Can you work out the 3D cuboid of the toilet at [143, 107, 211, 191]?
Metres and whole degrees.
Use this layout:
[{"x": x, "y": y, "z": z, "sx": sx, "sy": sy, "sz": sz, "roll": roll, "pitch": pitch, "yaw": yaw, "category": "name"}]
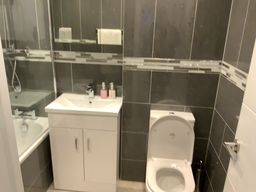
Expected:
[{"x": 0.330, "y": 0.610, "z": 1.720, "sx": 0.380, "sy": 0.850, "sz": 0.600, "roll": 4, "pitch": 19, "yaw": 6, "category": "toilet"}]
